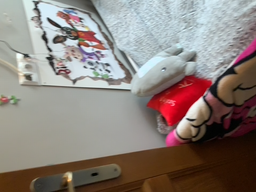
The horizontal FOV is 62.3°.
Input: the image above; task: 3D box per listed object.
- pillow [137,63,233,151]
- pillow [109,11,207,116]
[{"bbox_3d":[0.230,0.060,0.940,0.340,0.170,0.200,-54,47,37],"label":"pillow"},{"bbox_3d":[0.120,-0.150,1.080,0.370,0.200,0.340,-54,48,37],"label":"pillow"}]
